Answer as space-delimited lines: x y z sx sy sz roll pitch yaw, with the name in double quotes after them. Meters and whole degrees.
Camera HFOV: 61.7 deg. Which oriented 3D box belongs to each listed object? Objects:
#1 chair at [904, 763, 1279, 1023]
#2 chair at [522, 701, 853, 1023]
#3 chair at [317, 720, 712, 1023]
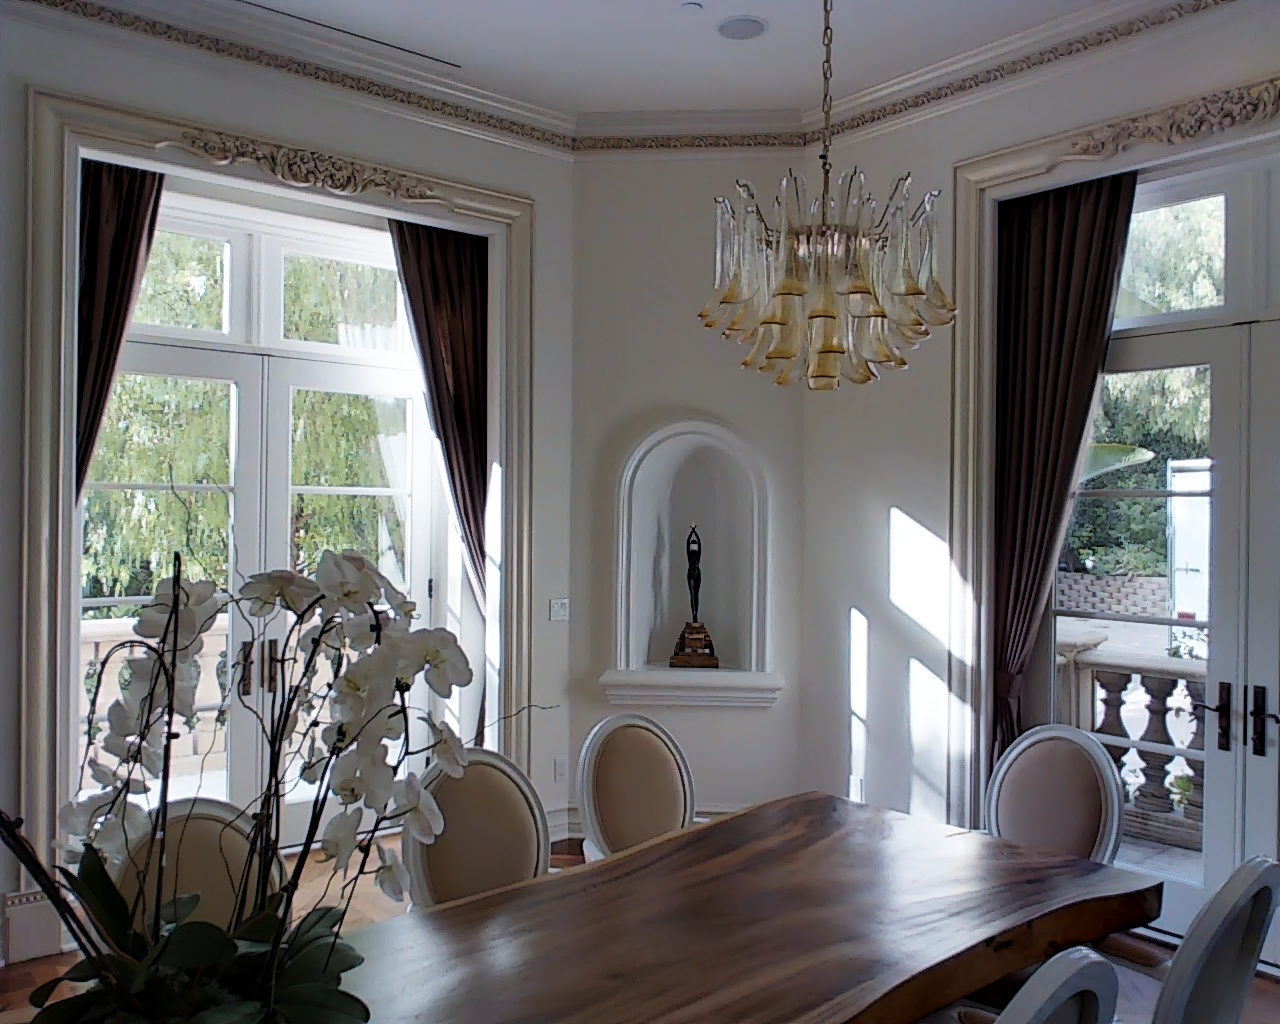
1.010 1.140 2.280 0.600 1.010 0.640 1 0 -40 "chair"
0.140 1.160 3.260 0.710 1.000 0.700 1 0 -41 "chair"
-0.320 1.140 2.730 0.730 1.030 0.680 1 0 -44 "chair"
